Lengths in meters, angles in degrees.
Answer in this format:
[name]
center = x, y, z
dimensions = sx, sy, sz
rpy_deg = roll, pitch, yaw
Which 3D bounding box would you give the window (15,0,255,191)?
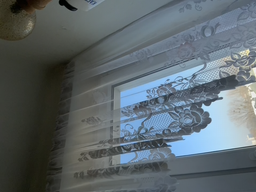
[window]
center = 0.300, 0.270, 0.630
dimensions = 0.110, 1.960, 1.470
rpy_deg = 36, -136, -49
